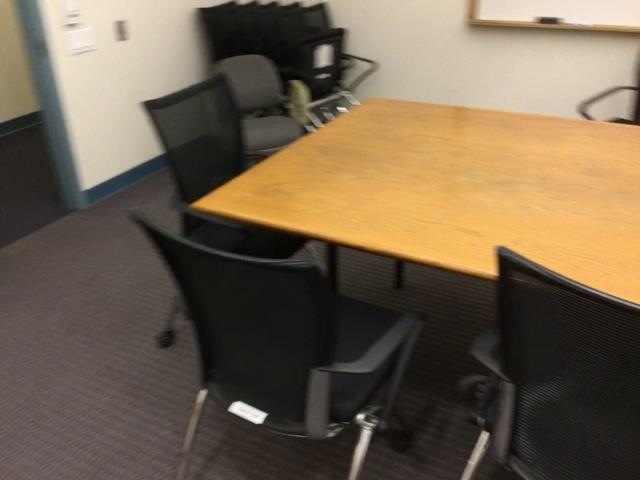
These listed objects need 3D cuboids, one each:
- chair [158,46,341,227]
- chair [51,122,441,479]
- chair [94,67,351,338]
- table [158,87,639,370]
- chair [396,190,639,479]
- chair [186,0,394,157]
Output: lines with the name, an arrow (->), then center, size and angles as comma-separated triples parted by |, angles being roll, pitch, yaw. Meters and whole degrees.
chair -> -0.350, -0.610, 3.250 | 0.620, 0.760, 0.690 | 12, 33, 29
chair -> -0.090, 0.170, 1.370 | 0.540, 0.680, 0.630 | 12, 33, 29
chair -> -0.280, -0.170, 2.000 | 0.510, 0.680, 0.590 | 12, 33, 29
table -> 0.930, -0.100, 1.510 | 2.450, 0.130, 1.270 | 12, 33, 29
chair -> 0.500, 0.350, 1.020 | 0.580, 0.680, 0.440 | 12, 33, 29
chair -> -0.160, -1.130, 3.740 | 1.070, 0.910, 0.630 | 12, 33, 29
